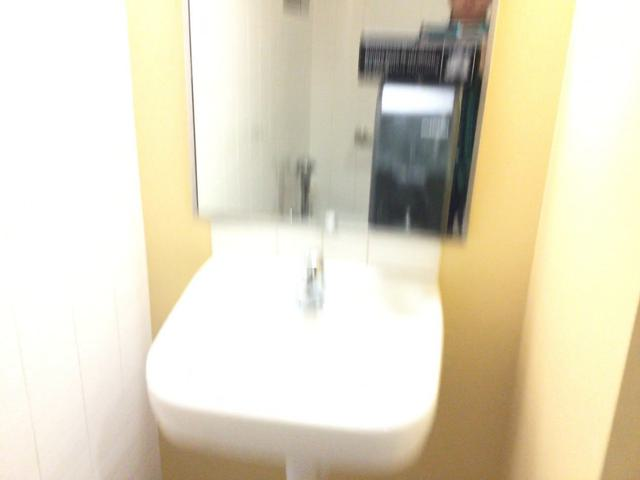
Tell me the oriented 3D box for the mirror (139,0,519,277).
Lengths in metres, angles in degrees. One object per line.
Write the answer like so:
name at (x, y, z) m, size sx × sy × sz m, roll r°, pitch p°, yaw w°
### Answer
mirror at (0.010, -0.410, 1.100) m, size 0.680 × 0.920 × 0.140 m, roll 4°, pitch 19°, yaw 8°
